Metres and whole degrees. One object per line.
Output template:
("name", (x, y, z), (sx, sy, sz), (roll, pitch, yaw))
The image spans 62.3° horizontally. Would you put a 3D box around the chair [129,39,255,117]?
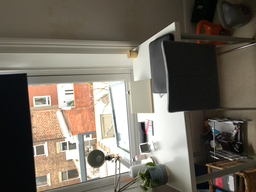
("chair", (0.510, -0.120, 1.450), (0.460, 0.860, 0.400), (172, 92, -68))
